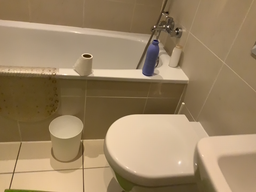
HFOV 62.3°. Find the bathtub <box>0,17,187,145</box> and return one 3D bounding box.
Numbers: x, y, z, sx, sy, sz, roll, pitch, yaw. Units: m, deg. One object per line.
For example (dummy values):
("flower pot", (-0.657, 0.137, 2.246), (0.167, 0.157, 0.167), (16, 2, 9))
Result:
("bathtub", (-0.550, -0.130, 1.570), (1.660, 0.570, 0.740), (1, 38, -15))

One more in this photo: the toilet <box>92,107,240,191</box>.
("toilet", (0.130, 0.350, 1.110), (0.570, 0.420, 0.400), (1, 38, -15))

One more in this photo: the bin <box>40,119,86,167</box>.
("bin", (-0.410, 0.300, 1.370), (0.250, 0.260, 0.170), (2, 37, -14))
